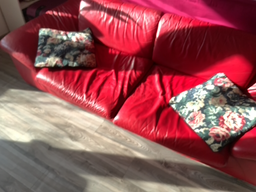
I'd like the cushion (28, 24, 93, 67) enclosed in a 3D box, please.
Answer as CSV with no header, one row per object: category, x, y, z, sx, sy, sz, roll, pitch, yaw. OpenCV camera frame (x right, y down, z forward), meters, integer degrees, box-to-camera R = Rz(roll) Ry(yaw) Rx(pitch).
cushion,-0.570,-0.470,1.900,0.460,0.100,0.530,-1,46,-3

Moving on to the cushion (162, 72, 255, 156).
cushion,0.580,0.090,1.480,0.460,0.110,0.510,-20,50,-21

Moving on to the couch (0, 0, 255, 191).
couch,0.170,-0.350,1.840,2.470,0.820,1.310,23,49,19
